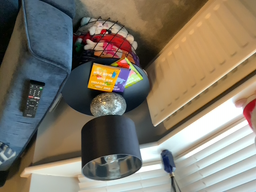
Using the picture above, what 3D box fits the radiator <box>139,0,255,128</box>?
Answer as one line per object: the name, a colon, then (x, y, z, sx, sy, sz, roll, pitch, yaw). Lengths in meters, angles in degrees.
radiator: (0.390, -0.290, 0.990, 0.090, 0.490, 0.900, 17, 135, -30)
